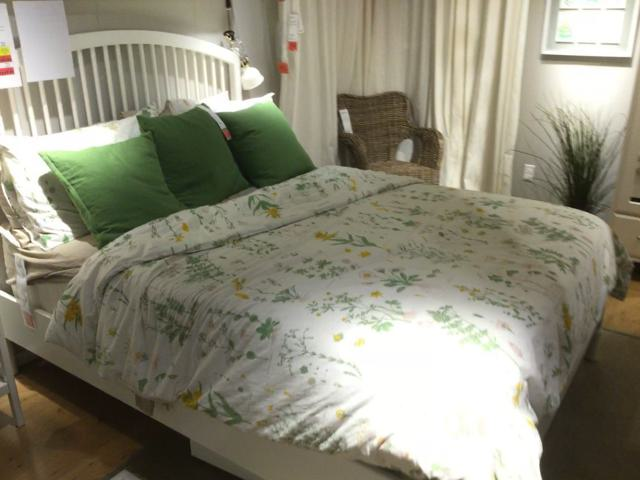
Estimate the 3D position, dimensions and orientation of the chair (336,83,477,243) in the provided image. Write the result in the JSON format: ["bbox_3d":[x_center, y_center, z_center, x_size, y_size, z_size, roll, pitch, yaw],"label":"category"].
[{"bbox_3d":[0.550,-0.550,3.930,0.750,0.910,0.630,-6,21,-9],"label":"chair"}]

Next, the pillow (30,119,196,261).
[{"bbox_3d":[-0.740,-0.190,2.090,0.220,0.370,0.390,-35,-5,41],"label":"pillow"}]

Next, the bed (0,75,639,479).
[{"bbox_3d":[-0.030,0.070,2.250,2.190,1.150,1.740,13,26,34],"label":"bed"}]

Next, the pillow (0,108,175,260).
[{"bbox_3d":[-0.930,-0.230,2.230,0.260,0.400,0.560,-21,4,41],"label":"pillow"}]

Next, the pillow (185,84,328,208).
[{"bbox_3d":[-0.290,-0.460,2.750,0.210,0.460,0.490,-35,-5,41],"label":"pillow"}]

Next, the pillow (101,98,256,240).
[{"bbox_3d":[-0.580,-0.310,2.440,0.210,0.440,0.450,-23,8,39],"label":"pillow"}]
